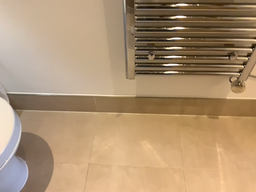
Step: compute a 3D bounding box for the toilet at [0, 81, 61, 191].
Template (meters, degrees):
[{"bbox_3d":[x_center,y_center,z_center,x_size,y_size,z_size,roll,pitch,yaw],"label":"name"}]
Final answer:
[{"bbox_3d":[-0.640,0.240,0.870,0.530,0.440,0.410,1,51,2],"label":"toilet"}]
